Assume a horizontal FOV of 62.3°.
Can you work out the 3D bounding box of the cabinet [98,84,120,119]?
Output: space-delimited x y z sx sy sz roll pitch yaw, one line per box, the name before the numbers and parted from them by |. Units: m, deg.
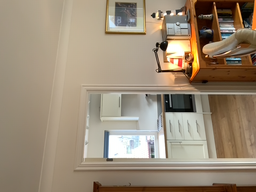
cabinet | -0.390 0.120 4.520 0.320 0.430 0.670 93 177 -68
